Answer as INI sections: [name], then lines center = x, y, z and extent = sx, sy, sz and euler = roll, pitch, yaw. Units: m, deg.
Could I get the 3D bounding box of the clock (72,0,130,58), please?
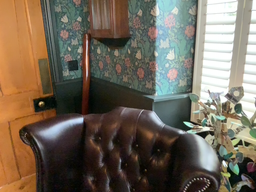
[clock]
center = -0.210, -0.680, 1.520
extent = 0.180, 0.750, 0.450
euler = -17, 23, -37
